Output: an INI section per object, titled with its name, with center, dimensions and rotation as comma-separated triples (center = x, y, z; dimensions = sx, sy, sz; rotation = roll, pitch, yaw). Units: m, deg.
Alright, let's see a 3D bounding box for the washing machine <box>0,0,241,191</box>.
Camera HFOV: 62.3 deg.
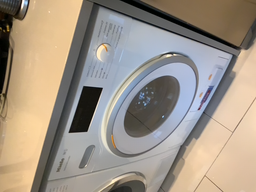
[washing machine]
center = -0.060, -0.120, 1.080
dimensions = 0.690, 0.910, 0.580
rotation = 41, 117, 39
